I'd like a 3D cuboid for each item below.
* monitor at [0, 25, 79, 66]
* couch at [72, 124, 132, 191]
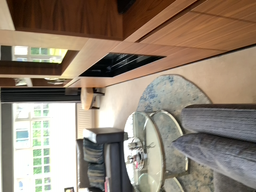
[{"bbox_3d":[-0.970,-0.430,2.030,1.220,0.770,0.050,174,95,-66],"label":"monitor"},{"bbox_3d":[-0.540,1.250,3.980,1.130,0.800,1.300,174,95,-66],"label":"couch"}]
